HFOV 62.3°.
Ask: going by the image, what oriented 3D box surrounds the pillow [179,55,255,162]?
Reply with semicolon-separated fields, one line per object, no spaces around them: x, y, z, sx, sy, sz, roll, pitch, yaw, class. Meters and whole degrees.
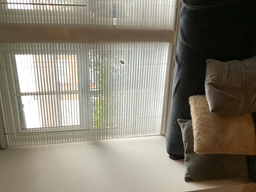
0.660;0.060;1.480;0.280;0.440;0.650;-153;63;-62;pillow
